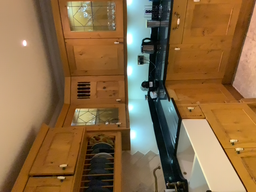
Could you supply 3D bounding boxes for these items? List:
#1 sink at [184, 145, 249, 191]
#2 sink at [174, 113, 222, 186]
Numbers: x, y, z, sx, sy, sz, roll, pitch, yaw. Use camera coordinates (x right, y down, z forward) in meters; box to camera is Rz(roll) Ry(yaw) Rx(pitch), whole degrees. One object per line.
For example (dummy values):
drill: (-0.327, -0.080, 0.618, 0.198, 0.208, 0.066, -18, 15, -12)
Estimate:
sink: (0.620, 0.690, 1.590, 0.380, 0.230, 0.500, -95, 4, -58)
sink: (0.600, 0.480, 1.920, 0.400, 0.230, 0.500, -95, 4, -58)
